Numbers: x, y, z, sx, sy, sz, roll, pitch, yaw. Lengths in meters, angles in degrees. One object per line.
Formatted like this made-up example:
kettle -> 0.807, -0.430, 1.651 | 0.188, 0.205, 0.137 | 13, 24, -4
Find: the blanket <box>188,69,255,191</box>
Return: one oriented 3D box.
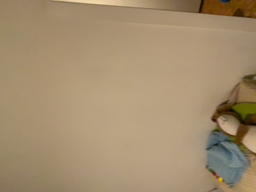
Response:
blanket -> 0.670, 0.360, 1.250 | 0.550, 0.230, 0.890 | -105, 19, -61
